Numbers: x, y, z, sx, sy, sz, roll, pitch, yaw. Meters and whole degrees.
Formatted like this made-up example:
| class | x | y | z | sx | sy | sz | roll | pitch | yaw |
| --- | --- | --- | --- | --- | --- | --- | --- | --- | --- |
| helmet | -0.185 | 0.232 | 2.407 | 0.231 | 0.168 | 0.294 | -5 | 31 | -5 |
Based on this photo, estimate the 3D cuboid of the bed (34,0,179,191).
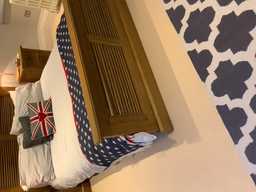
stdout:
| class | x | y | z | sx | sy | sz | roll | pitch | yaw |
| --- | --- | --- | --- | --- | --- | --- | --- | --- | --- |
| bed | -0.600 | 0.080 | 2.530 | 2.220 | 0.470 | 1.680 | -43 | 57 | 47 |
